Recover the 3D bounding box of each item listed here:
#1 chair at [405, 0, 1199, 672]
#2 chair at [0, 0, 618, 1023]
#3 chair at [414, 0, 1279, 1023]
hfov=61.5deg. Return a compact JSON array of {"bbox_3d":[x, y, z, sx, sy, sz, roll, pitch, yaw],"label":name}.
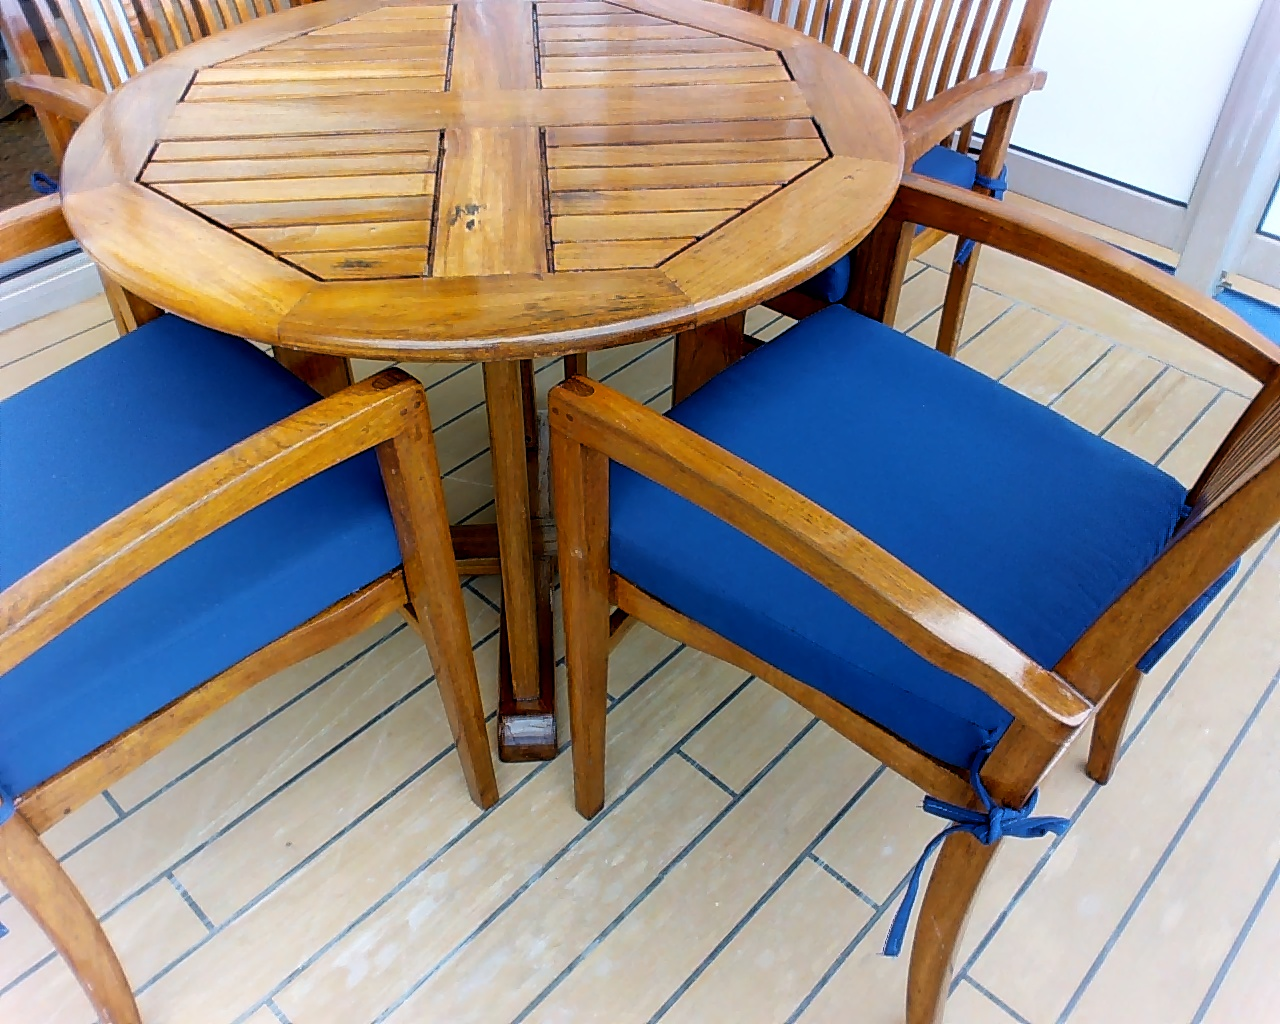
[{"bbox_3d":[0.230,-0.460,1.630,0.720,0.890,0.790,33,51,31],"label":"chair"},{"bbox_3d":[-0.530,0.020,1.090,0.630,0.900,0.760,33,52,32],"label":"chair"},{"bbox_3d":[0.280,0.040,1.120,0.700,0.870,0.590,33,51,31],"label":"chair"}]
